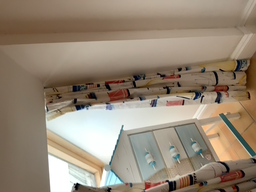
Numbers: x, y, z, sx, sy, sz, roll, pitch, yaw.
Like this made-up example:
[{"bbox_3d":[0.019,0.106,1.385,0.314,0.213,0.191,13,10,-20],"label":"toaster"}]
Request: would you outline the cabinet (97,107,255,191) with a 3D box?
[{"bbox_3d":[0.320,0.370,1.340,0.300,0.960,0.350,105,151,-50],"label":"cabinet"}]
